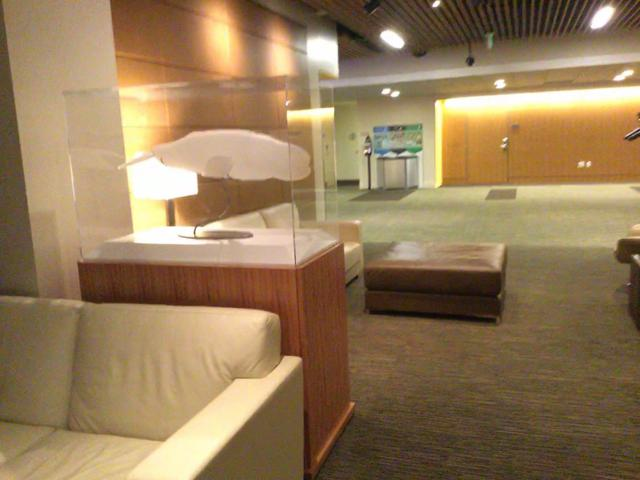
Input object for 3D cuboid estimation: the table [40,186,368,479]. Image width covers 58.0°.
[{"bbox_3d":[-0.440,0.390,2.610,1.100,1.120,0.750,-2,11,17],"label":"table"}]
